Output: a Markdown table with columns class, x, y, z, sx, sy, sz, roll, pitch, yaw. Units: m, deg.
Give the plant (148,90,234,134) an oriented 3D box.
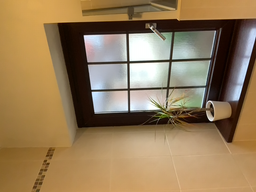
| class | x | y | z | sx | sy | sz | roll | pitch | yaw |
| --- | --- | --- | --- | --- | --- | --- | --- | --- | --- |
| plant | 0.420 | 0.110 | 1.500 | 0.170 | 0.530 | 0.240 | -94 | 2 | -62 |
